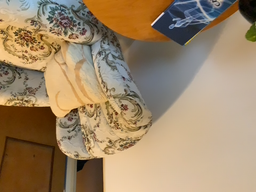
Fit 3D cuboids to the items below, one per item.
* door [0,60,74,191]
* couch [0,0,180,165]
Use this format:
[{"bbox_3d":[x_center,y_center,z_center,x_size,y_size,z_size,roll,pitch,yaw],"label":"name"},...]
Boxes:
[{"bbox_3d":[-0.840,0.770,1.670,0.090,2.200,0.810,-27,143,32],"label":"door"},{"bbox_3d":[-0.370,-0.200,1.100,0.810,0.880,0.730,14,144,-30],"label":"couch"}]
